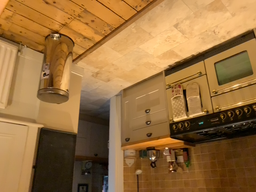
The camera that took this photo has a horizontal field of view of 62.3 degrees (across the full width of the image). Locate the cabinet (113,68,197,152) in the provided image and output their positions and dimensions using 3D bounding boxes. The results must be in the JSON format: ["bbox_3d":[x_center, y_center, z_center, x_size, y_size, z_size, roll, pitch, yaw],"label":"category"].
[{"bbox_3d":[0.350,0.280,3.170,0.660,0.930,0.990,19,150,-40],"label":"cabinet"}]
